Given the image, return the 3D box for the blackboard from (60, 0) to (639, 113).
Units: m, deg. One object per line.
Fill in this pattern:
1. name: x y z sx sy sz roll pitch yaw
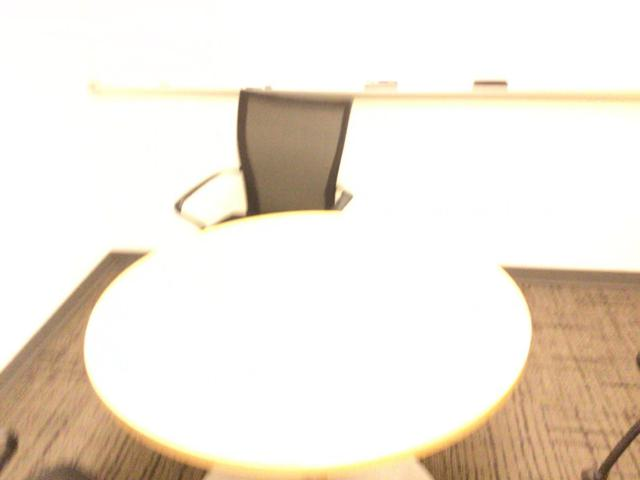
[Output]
1. blackboard: 0.240 -1.080 1.980 2.460 1.210 0.130 3 27 7
